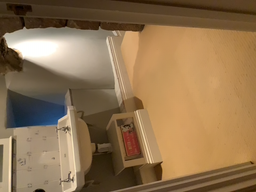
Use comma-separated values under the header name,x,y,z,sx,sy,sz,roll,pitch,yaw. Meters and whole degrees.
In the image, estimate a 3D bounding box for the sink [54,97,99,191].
name,x,y,z,sx,sy,sz,roll,pitch,yaw
sink,-0.490,0.440,1.890,0.470,0.270,0.710,122,140,-55
